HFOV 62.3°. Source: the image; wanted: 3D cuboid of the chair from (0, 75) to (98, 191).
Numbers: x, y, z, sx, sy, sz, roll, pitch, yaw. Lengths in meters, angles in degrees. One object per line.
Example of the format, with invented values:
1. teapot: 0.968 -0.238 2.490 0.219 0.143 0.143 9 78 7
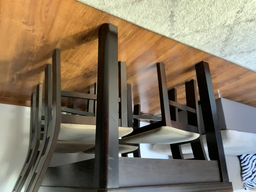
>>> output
1. chair: -0.600 0.450 1.650 0.580 1.040 0.400 13 155 -34
